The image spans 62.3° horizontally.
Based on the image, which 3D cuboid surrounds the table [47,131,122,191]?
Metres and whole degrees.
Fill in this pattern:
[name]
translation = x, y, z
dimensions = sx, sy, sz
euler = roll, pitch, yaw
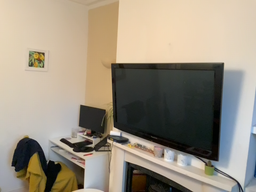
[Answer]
[table]
translation = -0.610, 1.000, 2.820
dimensions = 0.950, 0.790, 0.510
euler = 9, 7, 44
